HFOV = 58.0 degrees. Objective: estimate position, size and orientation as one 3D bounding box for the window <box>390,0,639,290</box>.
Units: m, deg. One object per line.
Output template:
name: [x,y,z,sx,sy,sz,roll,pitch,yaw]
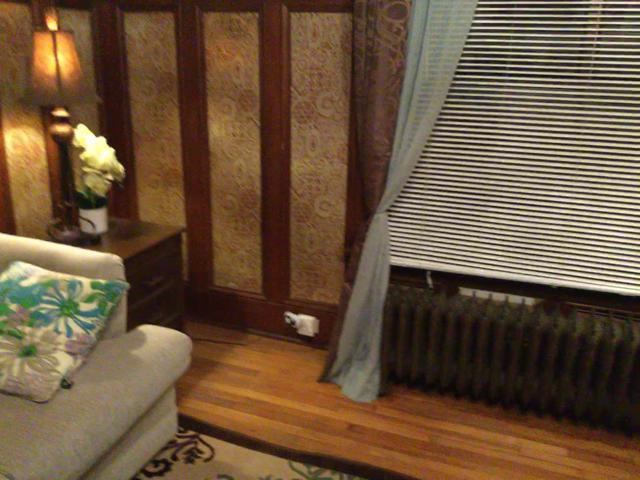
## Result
window: [0.890,-0.580,2.080,1.230,1.490,0.140,5,15,19]
